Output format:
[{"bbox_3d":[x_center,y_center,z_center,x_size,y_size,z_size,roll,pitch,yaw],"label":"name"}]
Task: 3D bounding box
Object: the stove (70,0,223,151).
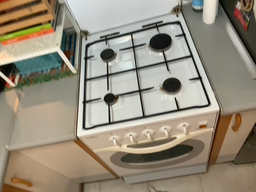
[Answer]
[{"bbox_3d":[0.040,-0.120,0.930,0.510,0.150,0.610,-11,56,8],"label":"stove"}]
